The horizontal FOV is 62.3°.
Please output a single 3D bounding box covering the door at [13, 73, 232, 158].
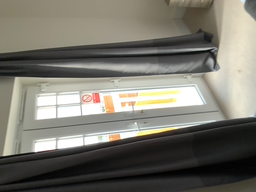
[{"bbox_3d":[0.000,0.110,2.210,0.090,2.090,0.760,105,156,-51],"label":"door"}]
